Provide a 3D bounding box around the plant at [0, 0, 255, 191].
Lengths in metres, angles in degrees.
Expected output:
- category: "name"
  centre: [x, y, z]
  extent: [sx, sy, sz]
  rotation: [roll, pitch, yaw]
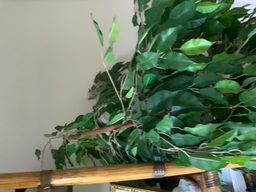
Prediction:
- category: "plant"
  centre: [0.580, -0.060, 0.800]
  extent: [0.620, 1.740, 0.640]
  rotation: [108, 158, -63]
